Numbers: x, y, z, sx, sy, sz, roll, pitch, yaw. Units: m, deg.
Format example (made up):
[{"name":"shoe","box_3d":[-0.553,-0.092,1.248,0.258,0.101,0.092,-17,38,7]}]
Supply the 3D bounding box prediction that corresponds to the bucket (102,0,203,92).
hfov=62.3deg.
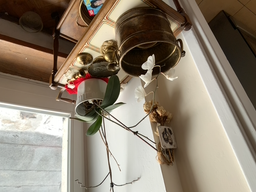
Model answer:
[{"name":"bucket","box_3d":[0.080,-0.190,0.830,0.250,0.190,0.260,16,139,-34]}]

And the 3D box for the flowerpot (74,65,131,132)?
[{"name":"flowerpot","box_3d":[-0.140,0.020,1.080,0.210,0.250,0.180,16,139,-34]}]
